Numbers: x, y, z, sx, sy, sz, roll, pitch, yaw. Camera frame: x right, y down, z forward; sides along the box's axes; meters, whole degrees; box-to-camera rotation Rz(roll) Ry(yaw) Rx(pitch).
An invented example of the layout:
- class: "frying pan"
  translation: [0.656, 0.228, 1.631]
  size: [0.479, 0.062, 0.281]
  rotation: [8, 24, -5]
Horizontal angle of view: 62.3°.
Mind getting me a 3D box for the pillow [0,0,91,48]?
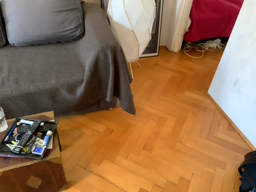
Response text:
- class: "pillow"
  translation: [-0.690, -0.700, 1.870]
  size: [0.650, 0.470, 0.270]
  rotation: [-7, 63, -18]
